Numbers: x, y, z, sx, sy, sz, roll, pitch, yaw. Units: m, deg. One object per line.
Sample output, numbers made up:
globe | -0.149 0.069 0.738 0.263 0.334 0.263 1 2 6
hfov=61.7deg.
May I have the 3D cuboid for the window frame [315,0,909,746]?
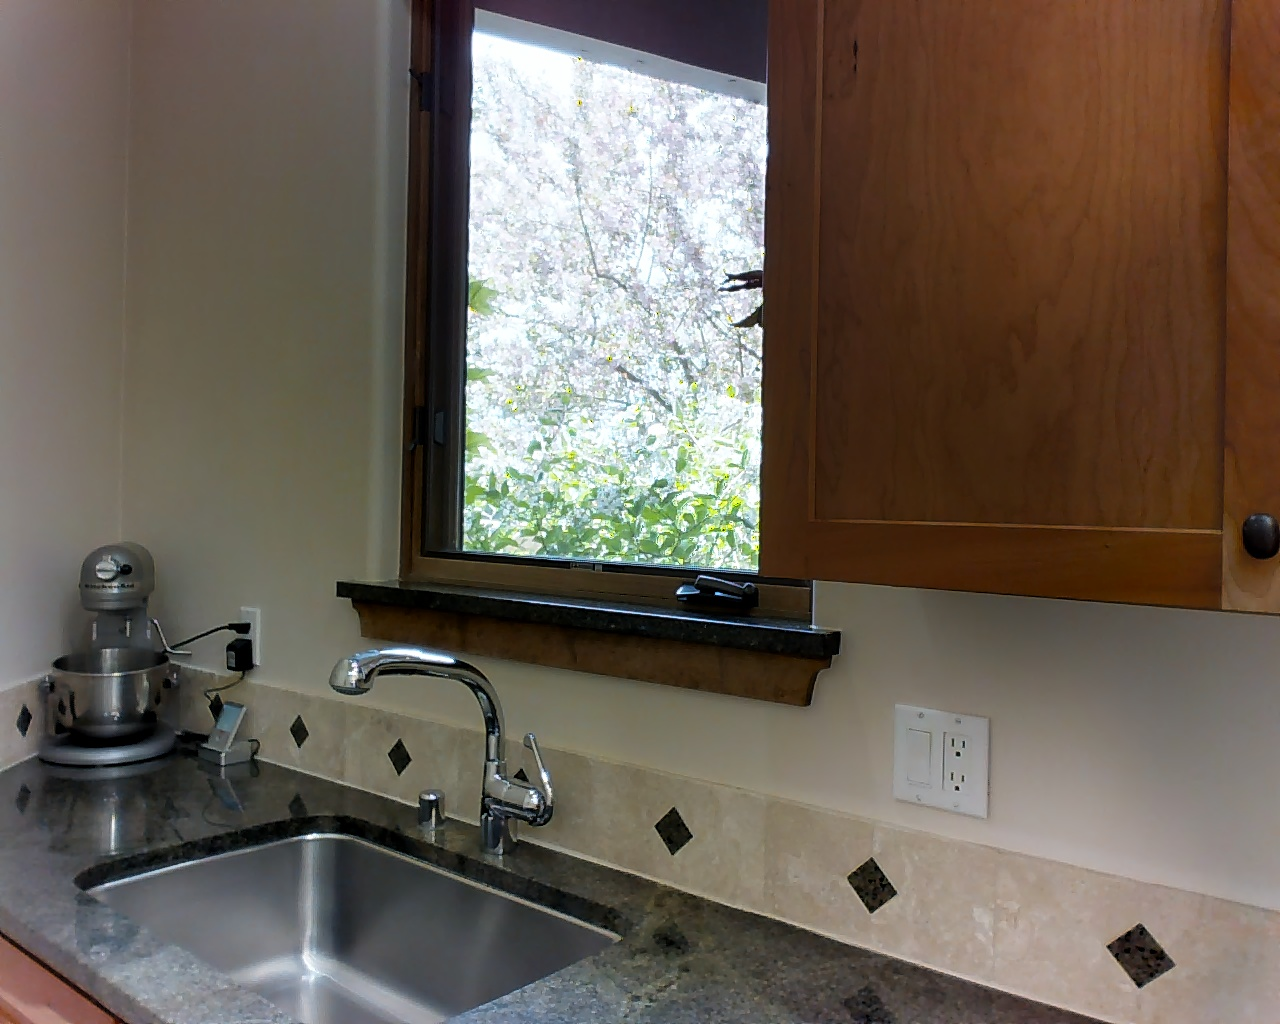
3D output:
window frame | -0.110 -0.470 1.650 1.030 1.470 0.190 1 0 40
